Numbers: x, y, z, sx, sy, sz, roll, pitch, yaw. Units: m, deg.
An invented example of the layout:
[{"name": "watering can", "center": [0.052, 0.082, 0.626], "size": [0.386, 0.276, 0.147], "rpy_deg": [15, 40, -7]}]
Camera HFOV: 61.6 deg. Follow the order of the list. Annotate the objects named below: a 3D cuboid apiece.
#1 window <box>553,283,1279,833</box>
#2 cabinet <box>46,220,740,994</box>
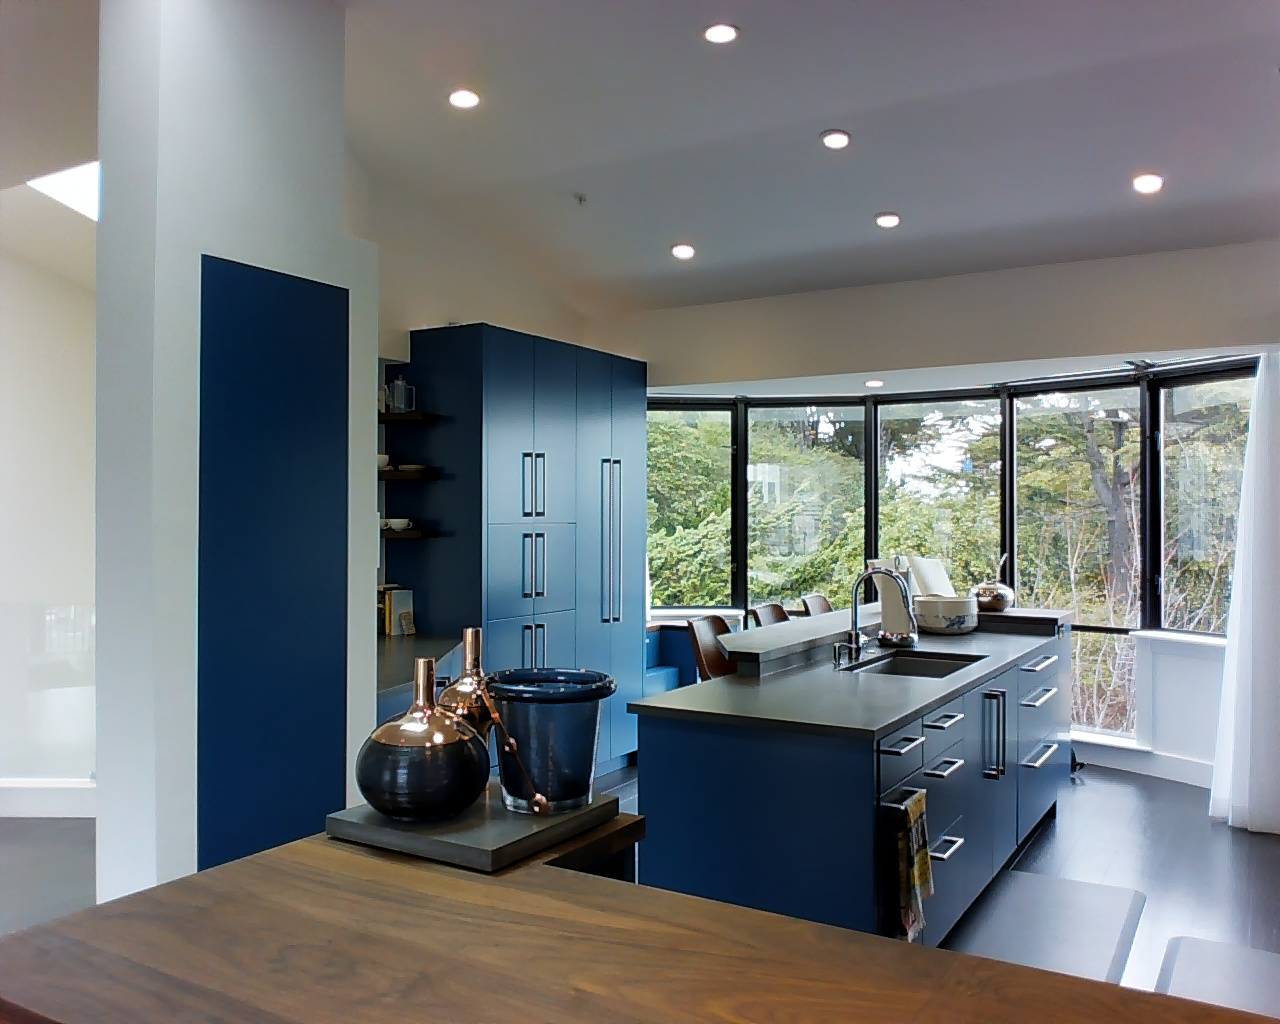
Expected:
[{"name": "window", "center": [1.660, 0.230, 6.810], "size": [4.390, 2.620, 1.440], "rpy_deg": [0, -1, 31]}, {"name": "cabinet", "center": [-0.710, 0.320, 5.750], "size": [1.330, 2.450, 4.520], "rpy_deg": [0, -1, 21]}]
